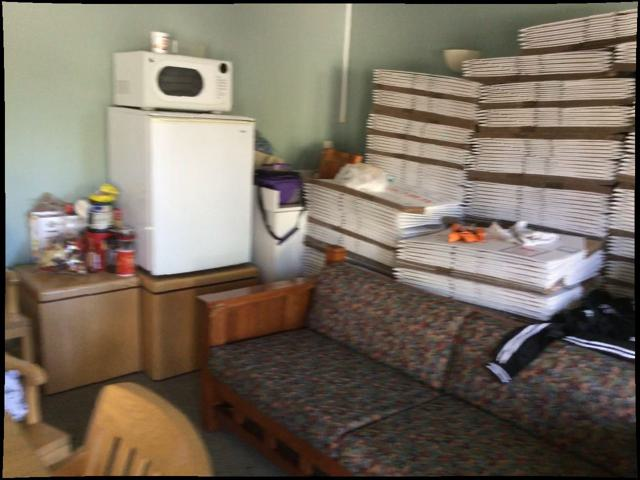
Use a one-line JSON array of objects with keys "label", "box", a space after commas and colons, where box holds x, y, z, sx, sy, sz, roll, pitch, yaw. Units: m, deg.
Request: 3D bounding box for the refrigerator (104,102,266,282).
[{"label": "refrigerator", "box": [-0.759, -0.320, 3.260, 0.640, 0.851, 0.660, -10, 20, -36]}]

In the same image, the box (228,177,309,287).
[{"label": "box", "box": [-0.310, -0.060, 3.370, 0.250, 0.530, 0.430, -12, 21, -41]}]

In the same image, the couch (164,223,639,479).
[{"label": "couch", "box": [0.350, 0.601, 2.210, 0.979, 0.801, 2.009, -12, 21, -41]}]
